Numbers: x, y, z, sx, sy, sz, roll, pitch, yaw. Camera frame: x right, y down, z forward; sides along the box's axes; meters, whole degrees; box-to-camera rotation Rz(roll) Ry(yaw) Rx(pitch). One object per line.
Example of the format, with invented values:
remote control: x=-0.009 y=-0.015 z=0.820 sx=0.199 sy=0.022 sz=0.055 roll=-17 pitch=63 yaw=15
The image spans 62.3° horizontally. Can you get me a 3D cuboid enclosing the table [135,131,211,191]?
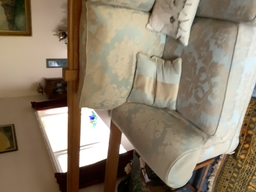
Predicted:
table: x=0.370 y=0.620 z=1.850 sx=0.400 sy=0.410 sz=0.400 roll=41 pitch=130 yaw=49
